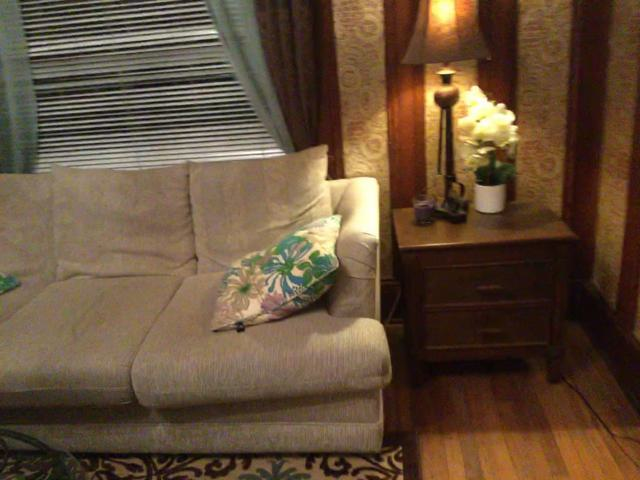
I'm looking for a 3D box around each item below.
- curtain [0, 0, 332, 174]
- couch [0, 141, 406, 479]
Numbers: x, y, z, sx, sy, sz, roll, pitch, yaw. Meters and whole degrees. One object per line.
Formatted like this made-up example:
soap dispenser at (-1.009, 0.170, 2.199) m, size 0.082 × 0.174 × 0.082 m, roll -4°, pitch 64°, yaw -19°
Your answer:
curtain at (-0.880, -0.910, 2.190) m, size 1.800 × 1.270 × 0.240 m, roll -1°, pitch 17°, yaw 4°
couch at (-0.810, 0.180, 2.140) m, size 2.160 × 0.890 × 0.990 m, roll -1°, pitch 17°, yaw 4°
